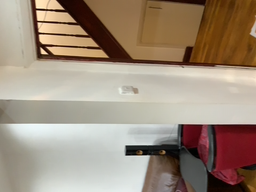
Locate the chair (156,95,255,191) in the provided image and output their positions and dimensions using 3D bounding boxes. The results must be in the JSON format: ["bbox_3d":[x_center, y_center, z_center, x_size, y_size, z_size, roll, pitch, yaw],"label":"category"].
[{"bbox_3d":[0.780,0.390,1.960,0.750,0.820,0.740,-157,68,-80],"label":"chair"}]
